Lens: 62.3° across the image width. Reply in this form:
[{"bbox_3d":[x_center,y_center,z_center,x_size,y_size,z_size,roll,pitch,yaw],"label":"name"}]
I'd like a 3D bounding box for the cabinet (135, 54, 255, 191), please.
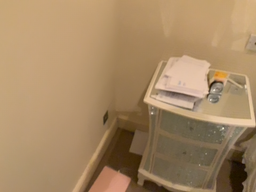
[{"bbox_3d":[0.370,0.250,1.360,0.500,0.830,0.470,13,42,14],"label":"cabinet"}]
